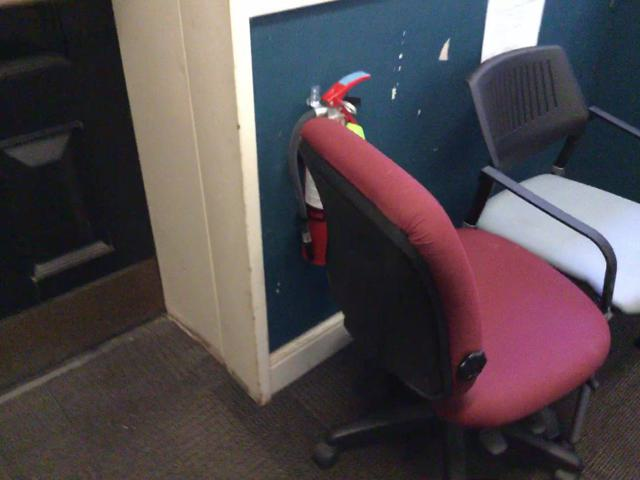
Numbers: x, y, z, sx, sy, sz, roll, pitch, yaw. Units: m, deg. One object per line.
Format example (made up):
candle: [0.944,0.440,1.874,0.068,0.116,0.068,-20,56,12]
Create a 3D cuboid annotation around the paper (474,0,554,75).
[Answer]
paper: [0.540,-0.590,1.590,0.310,0.190,0.020,-29,44,-30]
